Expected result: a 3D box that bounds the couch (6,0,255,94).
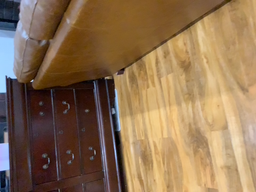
[{"bbox_3d":[-0.160,-0.660,1.210,1.600,0.880,0.950,-22,73,57],"label":"couch"}]
